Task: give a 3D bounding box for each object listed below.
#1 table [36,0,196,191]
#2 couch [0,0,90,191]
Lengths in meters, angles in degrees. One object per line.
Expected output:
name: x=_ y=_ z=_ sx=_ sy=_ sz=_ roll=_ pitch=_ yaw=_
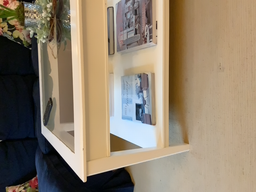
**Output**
table: x=-0.140 y=-0.350 z=1.080 sx=0.810 sy=0.480 sz=1.230 roll=5 pitch=97 yaw=58
couch: x=-0.950 y=0.150 z=2.150 sx=0.980 sy=0.770 sz=2.560 roll=2 pitch=94 yaw=58
